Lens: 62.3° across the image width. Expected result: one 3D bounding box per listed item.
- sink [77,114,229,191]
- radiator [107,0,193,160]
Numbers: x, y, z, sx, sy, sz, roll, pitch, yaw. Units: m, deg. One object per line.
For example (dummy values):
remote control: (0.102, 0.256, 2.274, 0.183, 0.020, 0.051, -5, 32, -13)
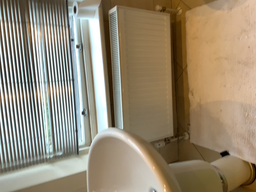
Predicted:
sink: (0.030, 0.350, 0.810, 0.630, 0.200, 0.470, 5, 99, 56)
radiator: (0.160, -0.100, 1.300, 0.160, 0.520, 0.830, 7, 101, 56)
